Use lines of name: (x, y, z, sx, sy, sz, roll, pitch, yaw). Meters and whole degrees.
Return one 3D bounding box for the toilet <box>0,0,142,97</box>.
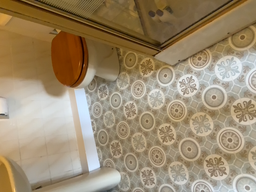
toilet: (-0.420, -0.410, 1.500, 0.510, 0.770, 0.670, -28, 70, 36)
